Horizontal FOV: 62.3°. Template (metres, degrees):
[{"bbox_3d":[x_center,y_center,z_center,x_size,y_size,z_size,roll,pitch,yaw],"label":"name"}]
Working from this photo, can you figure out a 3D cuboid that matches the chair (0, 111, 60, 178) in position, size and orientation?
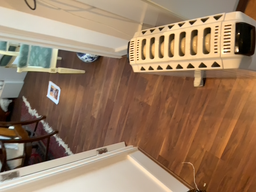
[{"bbox_3d":[-1.390,0.550,2.430,0.420,0.990,0.560,30,111,39],"label":"chair"}]

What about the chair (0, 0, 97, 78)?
[{"bbox_3d":[-0.900,-0.540,1.940,0.630,0.940,0.530,30,111,39],"label":"chair"}]
